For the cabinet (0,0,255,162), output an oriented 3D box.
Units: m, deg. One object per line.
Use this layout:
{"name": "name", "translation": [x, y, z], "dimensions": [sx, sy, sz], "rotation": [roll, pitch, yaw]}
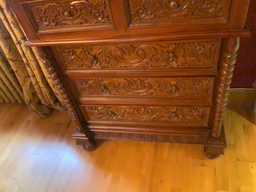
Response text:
{"name": "cabinet", "translation": [0.070, -0.180, 1.220], "dimensions": [0.970, 1.140, 0.500], "rotation": [3, 46, 15]}
